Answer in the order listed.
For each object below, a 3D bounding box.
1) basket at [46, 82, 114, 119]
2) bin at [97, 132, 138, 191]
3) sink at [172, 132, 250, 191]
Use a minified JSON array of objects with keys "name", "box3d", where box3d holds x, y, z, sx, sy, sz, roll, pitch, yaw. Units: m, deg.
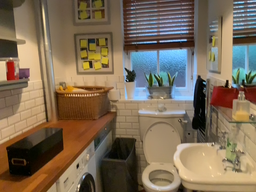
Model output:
[{"name":"basket","box3d":[-0.490,0.030,2.280,0.580,0.320,0.390,0,10,11]},{"name":"bin","box3d":[-0.080,0.790,2.210,0.250,0.620,0.650,1,10,12]},{"name":"sink","box3d":[0.430,0.380,1.240,0.330,0.140,0.560,0,10,12]}]
